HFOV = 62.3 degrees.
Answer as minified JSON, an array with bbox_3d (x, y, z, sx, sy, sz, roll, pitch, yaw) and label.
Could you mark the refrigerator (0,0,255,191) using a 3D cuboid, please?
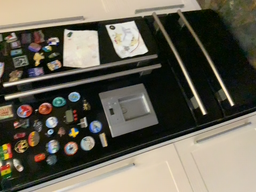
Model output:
[{"bbox_3d":[-0.010,-0.040,1.690,0.830,1.850,0.990,115,138,-62],"label":"refrigerator"}]
